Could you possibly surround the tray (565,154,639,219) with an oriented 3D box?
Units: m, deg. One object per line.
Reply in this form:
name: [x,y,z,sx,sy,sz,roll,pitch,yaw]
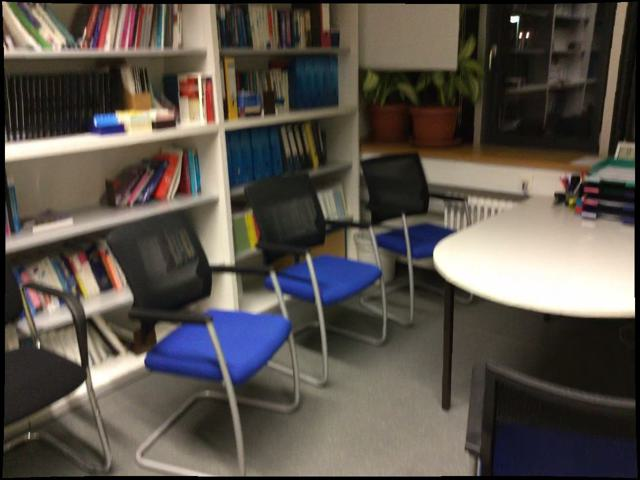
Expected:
tray: [1.429,-0.270,2.790,0.330,0.200,0.390,13,24,39]
